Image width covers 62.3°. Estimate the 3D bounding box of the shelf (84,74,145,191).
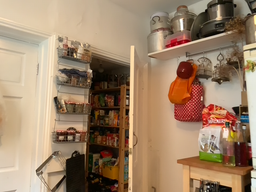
[{"bbox_3d":[-0.200,0.670,2.990,0.370,1.800,0.850,7,-9,-44],"label":"shelf"}]
